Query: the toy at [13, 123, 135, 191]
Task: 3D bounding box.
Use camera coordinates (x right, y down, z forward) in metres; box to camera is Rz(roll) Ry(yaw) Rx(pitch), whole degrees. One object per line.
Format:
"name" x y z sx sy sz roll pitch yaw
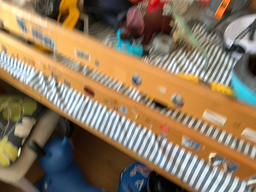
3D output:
"toy" -0.250 0.470 1.120 0.440 0.370 0.340 29 54 20

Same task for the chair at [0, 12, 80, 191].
"chair" -0.640 0.110 1.050 0.530 0.930 0.430 17 51 11
